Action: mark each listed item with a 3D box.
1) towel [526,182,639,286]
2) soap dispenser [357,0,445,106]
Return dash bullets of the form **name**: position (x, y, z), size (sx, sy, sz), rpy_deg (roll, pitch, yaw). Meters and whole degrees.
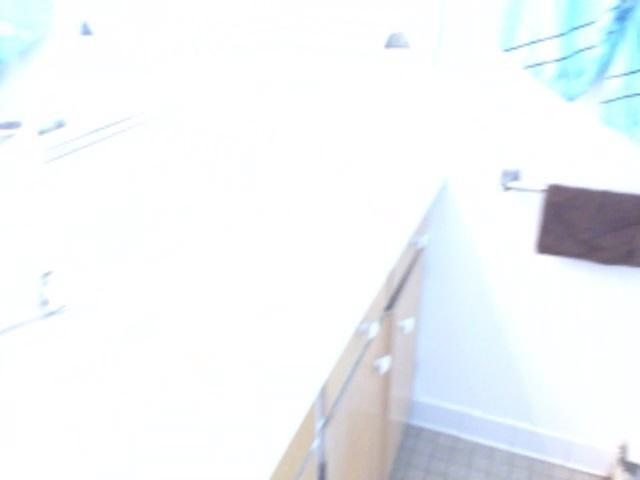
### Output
- **towel**: position (0.650, -0.010, 1.280), size (0.340, 0.180, 0.100), rpy_deg (9, 28, 23)
- **soap dispenser**: position (0.180, -0.450, 1.280), size (0.160, 0.270, 0.120), rpy_deg (9, 28, 23)
